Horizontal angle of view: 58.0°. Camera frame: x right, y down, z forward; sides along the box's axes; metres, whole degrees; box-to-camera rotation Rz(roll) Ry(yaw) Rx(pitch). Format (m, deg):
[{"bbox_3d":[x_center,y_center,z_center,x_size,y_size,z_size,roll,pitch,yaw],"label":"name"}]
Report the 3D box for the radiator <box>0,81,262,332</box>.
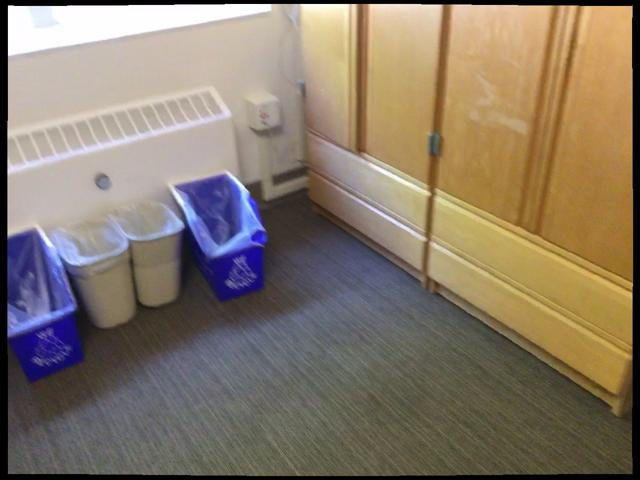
[{"bbox_3d":[-0.858,-0.140,2.230,1.229,0.651,0.260,-20,37,-26],"label":"radiator"}]
